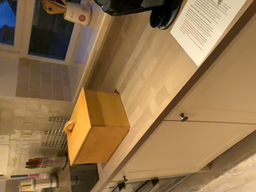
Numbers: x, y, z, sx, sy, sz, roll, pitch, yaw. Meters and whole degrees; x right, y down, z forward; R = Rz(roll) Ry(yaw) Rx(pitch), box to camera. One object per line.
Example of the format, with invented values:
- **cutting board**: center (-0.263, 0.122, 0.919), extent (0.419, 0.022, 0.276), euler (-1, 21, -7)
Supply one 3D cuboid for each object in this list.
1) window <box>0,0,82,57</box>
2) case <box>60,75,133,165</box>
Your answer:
- **window**: center (-0.580, -0.730, 1.340), extent (1.040, 0.590, 0.070), euler (-60, 38, 37)
- **case**: center (-0.190, 0.130, 1.100), extent (0.340, 0.230, 0.300), euler (-58, 39, 39)
